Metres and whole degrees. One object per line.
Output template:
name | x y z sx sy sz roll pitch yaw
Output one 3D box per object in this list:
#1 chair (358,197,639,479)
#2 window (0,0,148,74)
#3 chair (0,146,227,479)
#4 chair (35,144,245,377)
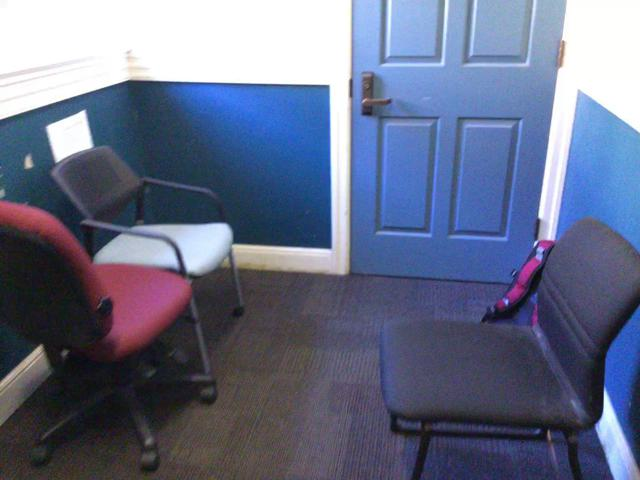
chair | 0.450 0.220 1.500 0.630 0.490 0.540 4 22 9
window | -1.160 -0.980 2.310 0.450 0.500 1.050 4 22 10
chair | -0.720 0.230 1.850 0.560 0.900 0.620 8 23 18
chair | -0.680 0.060 2.370 0.560 0.810 0.480 2 21 10
